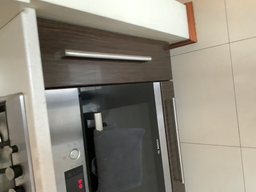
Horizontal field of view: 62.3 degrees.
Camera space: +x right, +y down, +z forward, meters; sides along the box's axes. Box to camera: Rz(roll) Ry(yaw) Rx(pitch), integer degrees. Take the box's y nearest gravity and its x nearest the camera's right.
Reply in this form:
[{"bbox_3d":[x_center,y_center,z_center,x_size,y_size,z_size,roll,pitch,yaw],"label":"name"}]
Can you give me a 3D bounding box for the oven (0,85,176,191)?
[{"bbox_3d":[-0.220,0.280,0.950,0.590,0.620,0.580,-5,92,41],"label":"oven"}]
